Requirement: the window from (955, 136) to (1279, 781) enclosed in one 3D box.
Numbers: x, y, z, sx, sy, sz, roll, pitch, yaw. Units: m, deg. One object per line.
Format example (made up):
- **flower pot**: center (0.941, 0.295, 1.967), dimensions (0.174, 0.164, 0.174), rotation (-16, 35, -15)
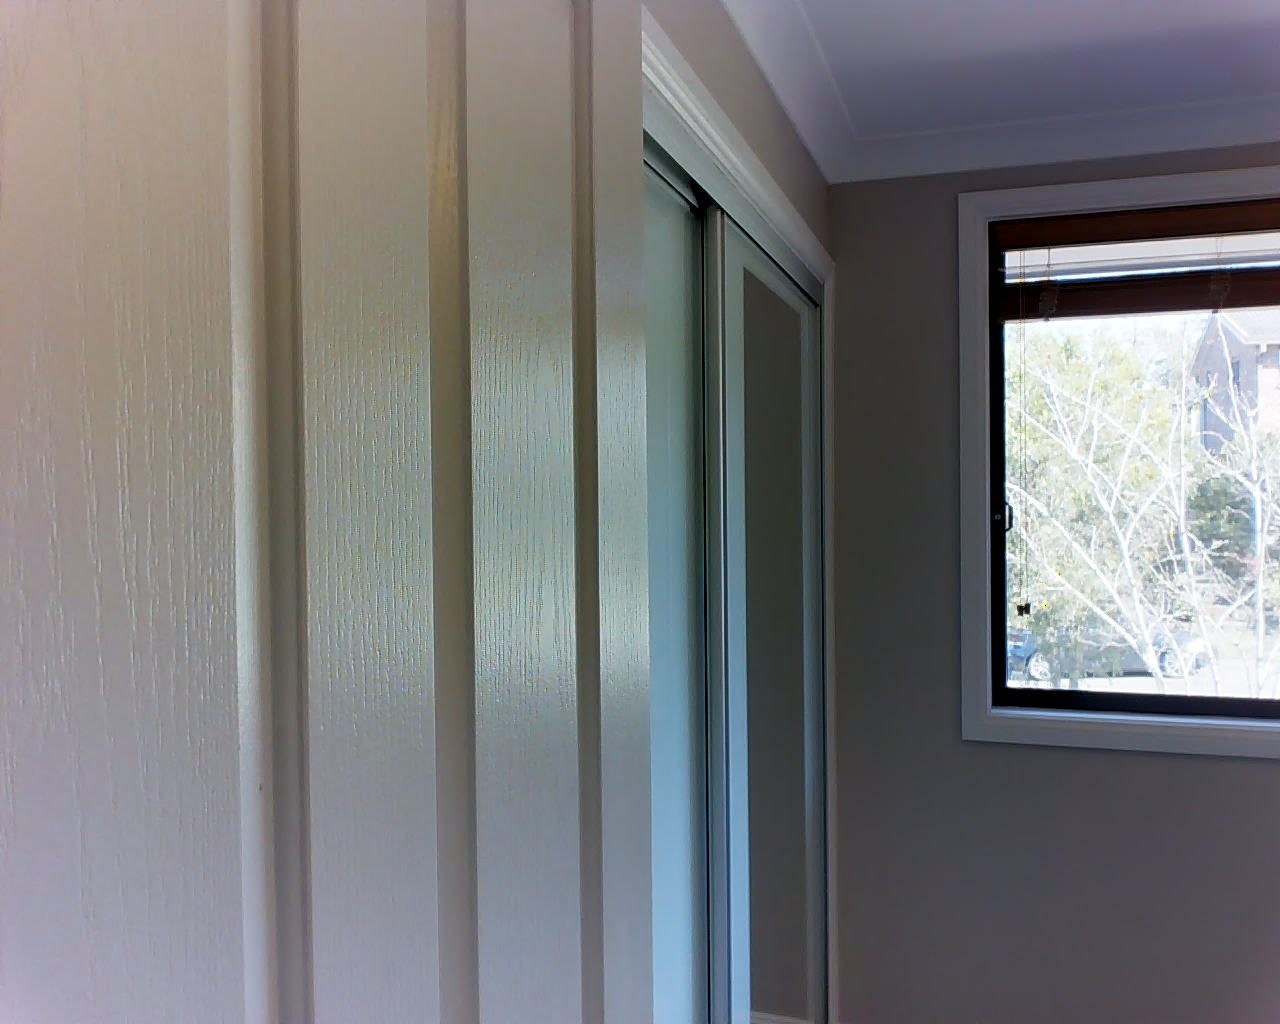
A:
- **window**: center (1.590, -0.120, 2.510), dimensions (1.620, 1.480, 0.180), rotation (0, 2, 18)
